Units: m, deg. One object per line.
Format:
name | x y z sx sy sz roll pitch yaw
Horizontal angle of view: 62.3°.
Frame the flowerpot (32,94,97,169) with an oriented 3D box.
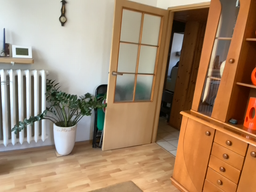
flowerpot | -0.840 0.420 2.760 0.690 0.810 0.400 0 14 -29
